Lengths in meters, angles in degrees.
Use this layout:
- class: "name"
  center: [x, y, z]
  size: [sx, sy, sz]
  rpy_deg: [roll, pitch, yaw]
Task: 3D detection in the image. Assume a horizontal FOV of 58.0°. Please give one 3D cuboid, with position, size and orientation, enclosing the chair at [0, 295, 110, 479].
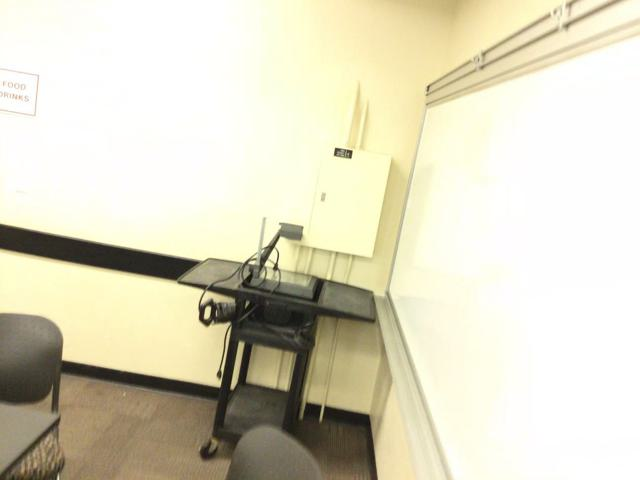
- class: "chair"
  center: [-1.230, 0.640, 2.110]
  size: [0.590, 0.740, 0.640]
  rpy_deg: [9, 6, -38]
